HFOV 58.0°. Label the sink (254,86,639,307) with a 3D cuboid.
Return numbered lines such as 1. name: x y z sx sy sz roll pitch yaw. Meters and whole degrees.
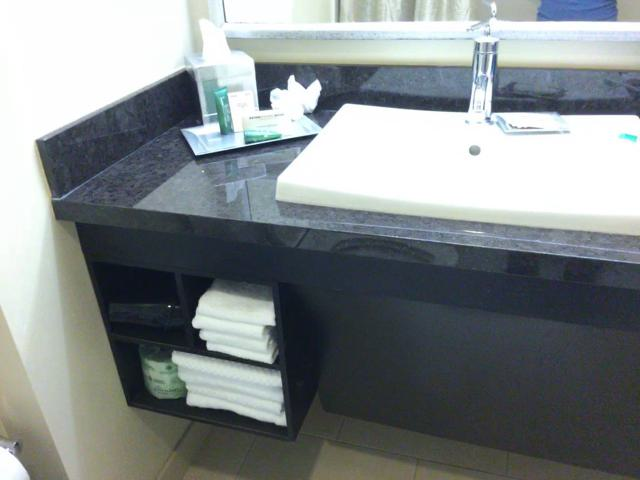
1. sink: 0.310 -0.120 1.040 0.700 0.160 0.500 6 32 16
